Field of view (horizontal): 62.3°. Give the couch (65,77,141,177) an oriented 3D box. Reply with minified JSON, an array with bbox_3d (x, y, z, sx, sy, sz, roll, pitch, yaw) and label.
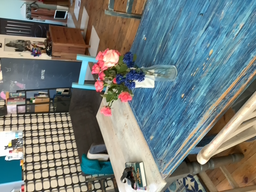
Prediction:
[{"bbox_3d":[-0.460,0.400,3.210,1.240,0.690,0.730,63,143,40],"label":"couch"}]

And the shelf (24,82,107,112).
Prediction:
[{"bbox_3d":[-1.080,0.000,3.710,0.350,1.330,0.320,63,143,40],"label":"shelf"}]
